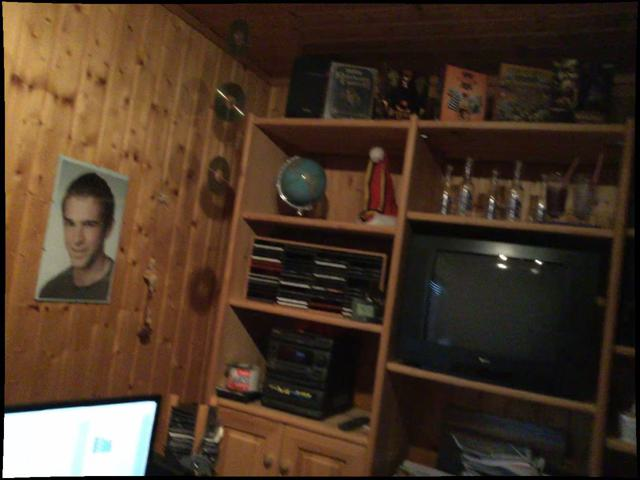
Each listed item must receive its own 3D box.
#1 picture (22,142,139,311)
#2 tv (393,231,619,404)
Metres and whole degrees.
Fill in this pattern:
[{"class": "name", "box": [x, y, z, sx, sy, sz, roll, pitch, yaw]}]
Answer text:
[{"class": "picture", "box": [-0.749, -0.030, 1.850, 0.050, 0.480, 0.310, 5, -11, 23]}, {"class": "tv", "box": [0.579, 0.220, 1.860, 0.629, 0.440, 0.200, 5, 6, 23]}]
